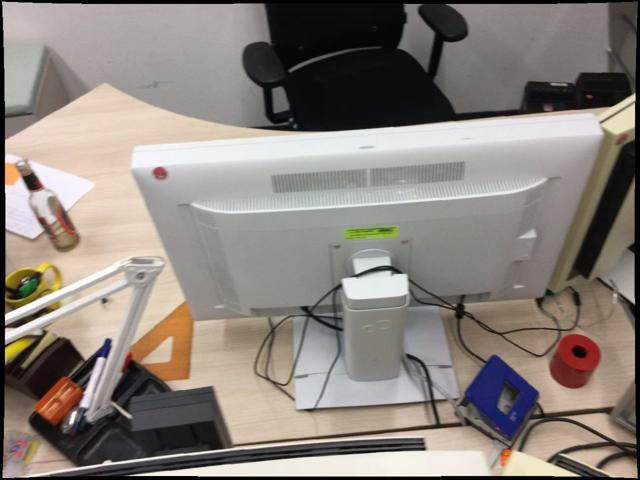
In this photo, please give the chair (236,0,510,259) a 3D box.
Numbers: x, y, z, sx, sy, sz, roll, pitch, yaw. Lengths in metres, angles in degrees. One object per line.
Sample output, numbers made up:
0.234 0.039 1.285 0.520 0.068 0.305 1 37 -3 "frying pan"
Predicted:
0.150 -0.551 1.900 0.619 0.990 0.740 -4 52 3 "chair"
